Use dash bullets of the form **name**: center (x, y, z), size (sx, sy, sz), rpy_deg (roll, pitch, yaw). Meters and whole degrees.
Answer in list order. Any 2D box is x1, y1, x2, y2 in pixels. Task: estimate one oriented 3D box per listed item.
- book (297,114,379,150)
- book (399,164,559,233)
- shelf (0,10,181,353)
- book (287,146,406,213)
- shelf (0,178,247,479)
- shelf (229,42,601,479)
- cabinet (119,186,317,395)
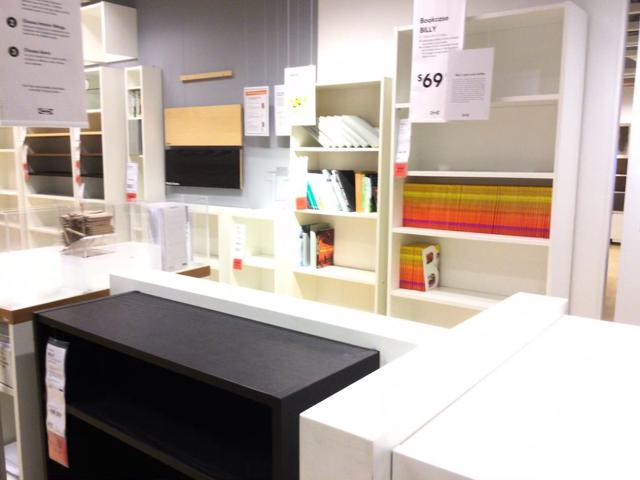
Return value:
- **book**: center (0.090, -0.570, 3.070), size (0.430, 0.180, 0.150), rpy_deg (8, 13, 38)
- **book**: center (0.720, -0.210, 2.700), size (0.700, 0.270, 0.170), rpy_deg (8, 13, 38)
- **shelf**: center (-2.270, -0.510, 4.900), size (2.780, 2.290, 0.420), rpy_deg (8, 13, 38)
- **book**: center (0.130, -0.340, 3.090), size (0.610, 0.320, 0.240), rpy_deg (8, 13, 38)
- **shelf**: center (-0.880, 0.470, 2.020), size (0.870, 1.290, 0.860), rpy_deg (8, 13, 38)
- **shelf**: center (0.320, 0.020, 3.000), size (1.900, 1.770, 0.330), rpy_deg (8, 13, 38)
- **cabinet**: center (-0.720, 0.240, 3.810), size (1.570, 1.100, 0.290), rpy_deg (8, 13, 38)
